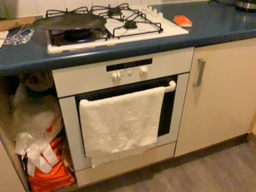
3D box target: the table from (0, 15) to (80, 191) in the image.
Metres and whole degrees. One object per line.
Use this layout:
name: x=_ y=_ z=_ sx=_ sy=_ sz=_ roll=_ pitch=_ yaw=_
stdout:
table: x=-0.490 y=0.120 z=1.180 sx=0.240 sy=0.940 sz=0.590 roll=-13 pitch=38 yaw=-18
